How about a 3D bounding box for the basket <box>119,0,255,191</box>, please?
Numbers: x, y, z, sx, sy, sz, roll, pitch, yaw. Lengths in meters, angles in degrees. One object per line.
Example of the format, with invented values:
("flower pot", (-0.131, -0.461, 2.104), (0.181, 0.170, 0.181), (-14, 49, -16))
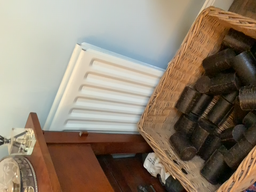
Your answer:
("basket", (0.360, 0.010, 0.830), (0.560, 0.330, 0.650), (50, 120, 43))
